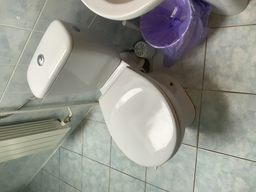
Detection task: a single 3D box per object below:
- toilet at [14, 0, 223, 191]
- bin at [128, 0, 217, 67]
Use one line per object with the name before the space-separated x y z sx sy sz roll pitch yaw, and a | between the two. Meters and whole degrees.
toilet | -0.010 0.000 1.070 0.380 0.740 0.710 -46 67 30
bin | 0.240 -0.370 1.150 0.260 0.260 0.310 -46 67 30
